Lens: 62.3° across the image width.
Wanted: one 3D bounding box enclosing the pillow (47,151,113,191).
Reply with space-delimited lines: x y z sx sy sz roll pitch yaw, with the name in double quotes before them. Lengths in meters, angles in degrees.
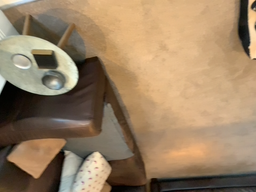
"pillow" -0.400 0.760 1.930 0.420 0.330 0.430 -7 142 9
